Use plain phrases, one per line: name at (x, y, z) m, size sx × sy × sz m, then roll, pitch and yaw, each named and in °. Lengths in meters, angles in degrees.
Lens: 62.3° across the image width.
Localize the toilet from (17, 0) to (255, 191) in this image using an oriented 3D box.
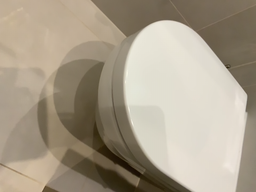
toilet at (0.050, 0.080, 0.700) m, size 0.540 × 0.460 × 0.380 m, roll 41°, pitch 58°, yaw -27°
